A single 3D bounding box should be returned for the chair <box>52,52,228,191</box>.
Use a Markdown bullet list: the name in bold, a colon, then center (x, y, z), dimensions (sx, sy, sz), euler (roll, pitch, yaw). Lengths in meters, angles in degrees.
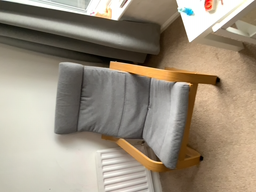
- **chair**: center (0.030, 0.100, 1.610), dimensions (0.820, 0.950, 0.710), euler (22, 108, 56)
